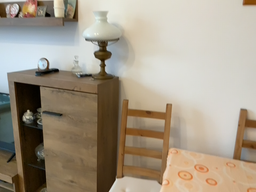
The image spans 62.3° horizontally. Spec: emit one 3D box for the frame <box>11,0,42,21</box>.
[{"bbox_3d":[-0.850,-0.720,1.780,0.230,0.160,0.080,7,15,16],"label":"frame"}]
